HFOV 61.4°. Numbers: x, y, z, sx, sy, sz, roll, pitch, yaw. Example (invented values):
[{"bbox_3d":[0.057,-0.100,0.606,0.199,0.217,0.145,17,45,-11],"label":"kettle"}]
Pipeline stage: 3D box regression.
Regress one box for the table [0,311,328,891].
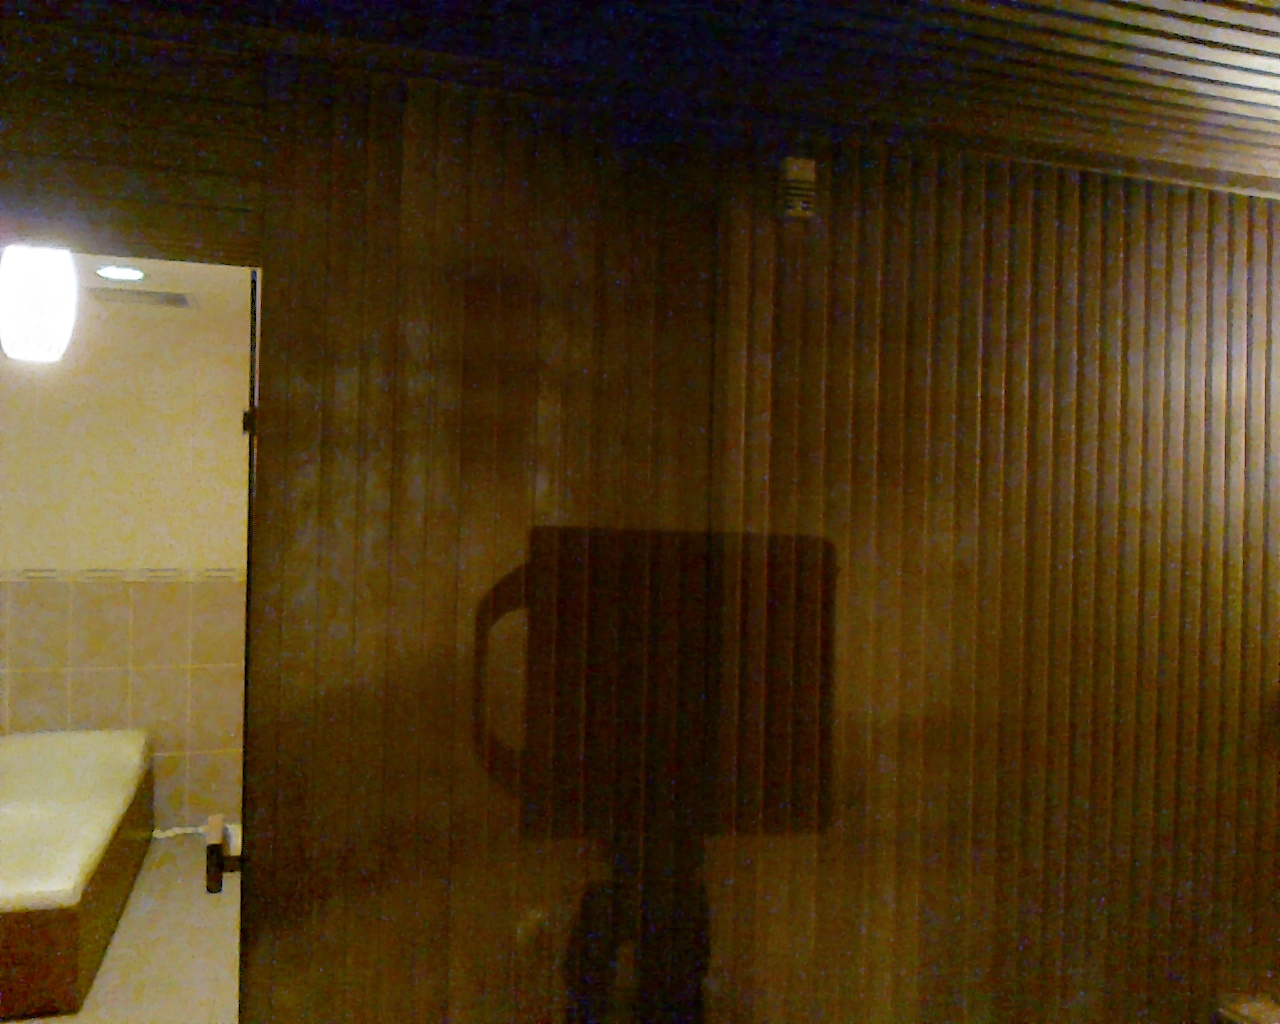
[{"bbox_3d":[-3.229,0.360,4.510,3.639,2.411,0.390,1,0,-17],"label":"table"}]
